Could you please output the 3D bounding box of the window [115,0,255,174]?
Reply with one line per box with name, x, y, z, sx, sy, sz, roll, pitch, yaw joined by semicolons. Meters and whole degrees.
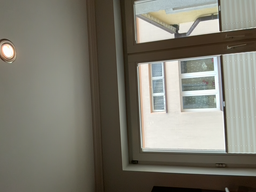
window;0.650;-0.210;1.590;0.170;1.440;1.510;-4;-89;-74
